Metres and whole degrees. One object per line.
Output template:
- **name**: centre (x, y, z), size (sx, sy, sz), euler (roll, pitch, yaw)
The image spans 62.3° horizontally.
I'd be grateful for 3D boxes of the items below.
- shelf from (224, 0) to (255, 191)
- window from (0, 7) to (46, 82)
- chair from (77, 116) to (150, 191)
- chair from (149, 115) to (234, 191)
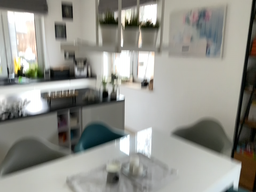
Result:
- **shelf**: centre (1.500, -0.060, 2.360), size (0.490, 2.320, 0.350), euler (-10, 18, -39)
- **window**: centre (-2.460, -0.990, 4.170), size (1.510, 1.390, 0.170), euler (-10, 17, -37)
- **chair**: centre (-0.180, 0.710, 2.320), size (0.650, 0.790, 0.520), euler (-4, 15, -19)
- **chair**: centre (0.690, 0.720, 2.390), size (0.550, 0.770, 0.670), euler (-12, 19, -43)
